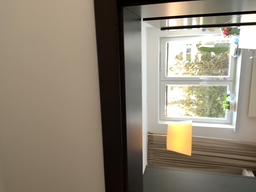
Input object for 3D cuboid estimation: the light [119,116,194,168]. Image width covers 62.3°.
[{"bbox_3d":[0.360,0.560,2.870,0.530,0.510,0.850,4,-2,-43],"label":"light"}]
